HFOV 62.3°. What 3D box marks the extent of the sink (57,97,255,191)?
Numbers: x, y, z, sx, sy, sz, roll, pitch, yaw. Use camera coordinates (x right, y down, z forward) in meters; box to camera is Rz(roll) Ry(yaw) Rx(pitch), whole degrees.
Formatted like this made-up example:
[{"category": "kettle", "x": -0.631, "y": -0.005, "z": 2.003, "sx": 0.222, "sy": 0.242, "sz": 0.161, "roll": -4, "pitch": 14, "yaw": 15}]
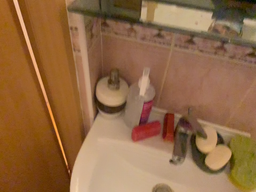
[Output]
[{"category": "sink", "x": 0.100, "y": 0.260, "z": 0.580, "sx": 0.500, "sy": 0.160, "sz": 0.420, "roll": 14, "pitch": 47, "yaw": 7}]
